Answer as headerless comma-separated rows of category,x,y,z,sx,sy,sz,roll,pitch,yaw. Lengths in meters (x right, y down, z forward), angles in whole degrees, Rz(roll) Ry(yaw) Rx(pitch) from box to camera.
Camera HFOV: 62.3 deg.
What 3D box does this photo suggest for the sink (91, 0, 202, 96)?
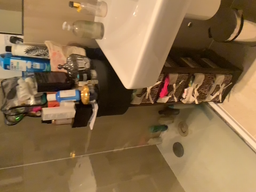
sink,0.050,-0.390,0.770,0.480,0.130,0.610,57,139,43
